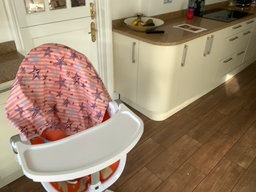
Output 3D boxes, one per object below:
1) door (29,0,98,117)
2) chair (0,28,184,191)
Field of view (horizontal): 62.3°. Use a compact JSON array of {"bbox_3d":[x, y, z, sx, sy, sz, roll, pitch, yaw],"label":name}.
[{"bbox_3d":[-0.580,-0.670,1.990,0.570,1.870,0.060,-25,41,-35],"label":"door"},{"bbox_3d":[-0.240,0.370,1.070,0.600,1.190,0.590,-22,39,-33],"label":"chair"}]
